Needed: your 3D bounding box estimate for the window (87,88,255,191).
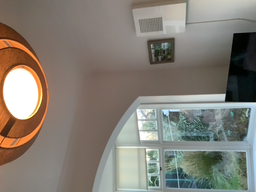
[{"bbox_3d":[0.740,1.550,2.930,1.460,2.280,2.960,74,-162,-55],"label":"window"}]
